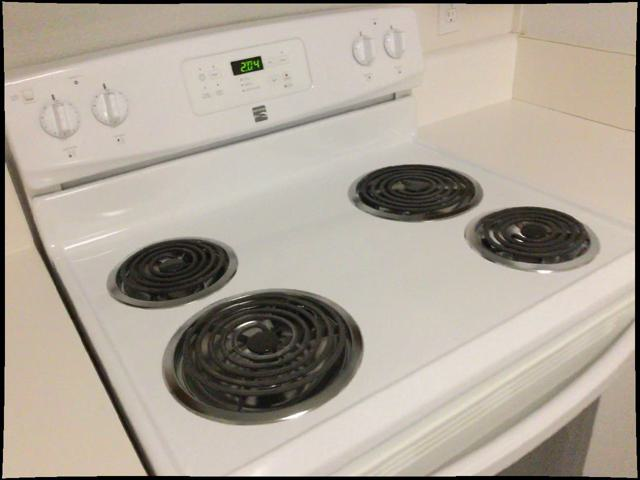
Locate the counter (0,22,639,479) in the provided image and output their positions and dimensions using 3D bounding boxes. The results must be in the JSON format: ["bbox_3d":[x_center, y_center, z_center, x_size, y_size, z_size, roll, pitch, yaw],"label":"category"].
[{"bbox_3d":[0.000,-0.040,0.910,1.637,0.240,0.670,-22,34,-25],"label":"counter"}]
